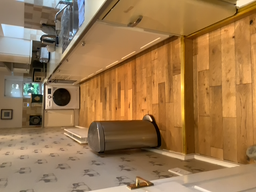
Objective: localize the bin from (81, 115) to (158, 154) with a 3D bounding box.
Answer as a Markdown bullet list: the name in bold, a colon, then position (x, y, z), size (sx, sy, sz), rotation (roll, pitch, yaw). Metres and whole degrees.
- **bin**: position (-0.090, 0.380, 2.280), size (0.410, 0.720, 0.330), rotation (-6, 83, 63)
